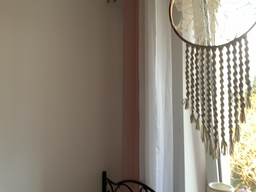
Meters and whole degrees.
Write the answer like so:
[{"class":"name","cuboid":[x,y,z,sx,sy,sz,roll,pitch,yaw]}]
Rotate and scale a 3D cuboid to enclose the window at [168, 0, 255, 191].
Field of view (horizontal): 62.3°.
[{"class":"window","cuboid":[0.590,-0.060,1.020,0.130,1.730,1.040,3,-4,-30]}]
